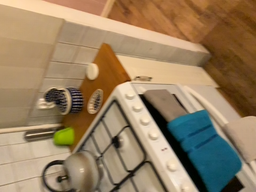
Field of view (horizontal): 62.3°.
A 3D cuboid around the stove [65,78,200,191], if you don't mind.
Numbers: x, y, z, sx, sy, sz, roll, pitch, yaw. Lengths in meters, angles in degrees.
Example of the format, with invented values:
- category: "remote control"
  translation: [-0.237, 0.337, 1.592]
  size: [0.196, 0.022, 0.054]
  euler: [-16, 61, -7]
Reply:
- category: "stove"
  translation: [-0.040, 0.360, 0.880]
  size: [0.630, 0.060, 0.590]
  euler: [-52, 55, 35]
